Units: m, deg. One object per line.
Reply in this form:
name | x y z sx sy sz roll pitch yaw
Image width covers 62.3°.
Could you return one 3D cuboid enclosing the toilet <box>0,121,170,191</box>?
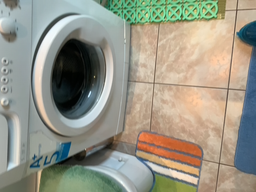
toilet | -0.290 0.430 0.930 0.750 0.740 0.410 7 96 24
